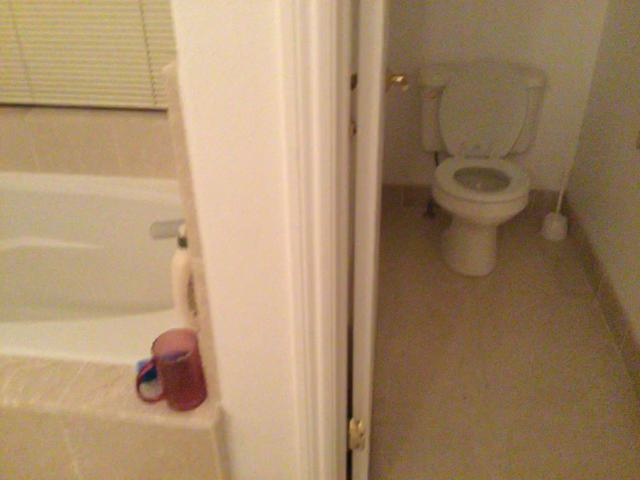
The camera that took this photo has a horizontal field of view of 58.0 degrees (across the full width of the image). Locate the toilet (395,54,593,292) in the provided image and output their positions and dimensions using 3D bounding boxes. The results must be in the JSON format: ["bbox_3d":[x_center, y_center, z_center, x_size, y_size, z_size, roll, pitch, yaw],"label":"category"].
[{"bbox_3d":[0.630,-0.300,2.340,0.590,0.730,0.660,3,31,8],"label":"toilet"}]

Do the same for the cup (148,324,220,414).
[{"bbox_3d":[-0.250,0.240,1.080,0.090,0.130,0.090,3,31,8],"label":"cup"}]
